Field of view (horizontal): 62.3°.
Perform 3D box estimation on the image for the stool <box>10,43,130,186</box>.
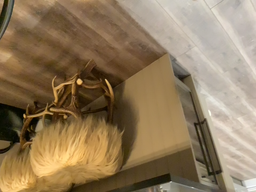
[{"bbox_3d":[-0.350,0.150,1.430,0.470,0.720,0.490,-31,137,32],"label":"stool"}]
